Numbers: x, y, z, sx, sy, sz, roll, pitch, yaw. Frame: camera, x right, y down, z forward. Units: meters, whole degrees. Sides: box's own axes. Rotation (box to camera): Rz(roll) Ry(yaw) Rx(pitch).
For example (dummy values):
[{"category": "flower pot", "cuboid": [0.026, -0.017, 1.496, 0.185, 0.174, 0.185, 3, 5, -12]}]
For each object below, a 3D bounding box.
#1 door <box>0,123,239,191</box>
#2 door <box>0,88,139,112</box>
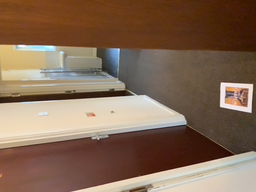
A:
[{"category": "door", "cuboid": [-0.170, 0.450, 1.550, 0.660, 1.950, 0.060, -146, 56, -62]}, {"category": "door", "cuboid": [-0.880, 0.020, 3.350, 0.810, 1.960, 0.120, -156, 65, -64]}]
